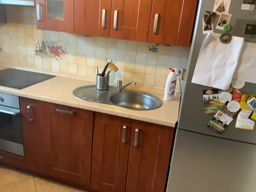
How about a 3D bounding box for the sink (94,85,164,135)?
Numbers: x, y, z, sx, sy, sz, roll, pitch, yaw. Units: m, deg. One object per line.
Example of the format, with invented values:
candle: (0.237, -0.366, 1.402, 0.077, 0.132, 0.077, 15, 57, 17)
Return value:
sink: (0.030, 0.090, 1.770, 0.460, 0.180, 0.460, 11, 20, 13)
